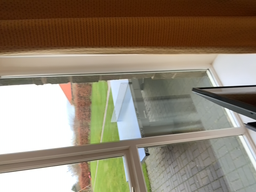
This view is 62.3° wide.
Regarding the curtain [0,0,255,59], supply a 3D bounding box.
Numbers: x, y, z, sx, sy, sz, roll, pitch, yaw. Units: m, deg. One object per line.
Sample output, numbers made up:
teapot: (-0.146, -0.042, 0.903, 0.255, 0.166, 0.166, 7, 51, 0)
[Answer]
curtain: (0.070, -0.660, 1.540, 0.170, 2.450, 0.870, 108, 154, -54)
